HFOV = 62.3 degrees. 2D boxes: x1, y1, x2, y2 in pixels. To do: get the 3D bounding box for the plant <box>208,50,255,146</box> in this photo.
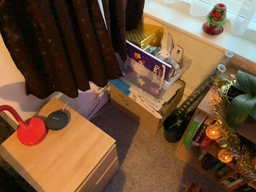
[{"bbox_3d":[0.520,0.030,0.790,0.300,0.170,0.260,34,63,21],"label":"plant"}]
